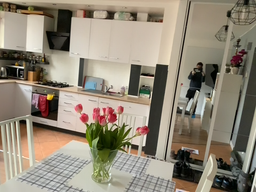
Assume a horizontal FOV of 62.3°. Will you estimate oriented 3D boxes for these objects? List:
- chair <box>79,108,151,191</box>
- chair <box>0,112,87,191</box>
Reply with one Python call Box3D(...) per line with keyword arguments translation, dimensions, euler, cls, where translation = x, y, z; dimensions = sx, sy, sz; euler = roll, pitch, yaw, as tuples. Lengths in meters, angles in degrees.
Box3D(translation=(-0.110, 0.670, 1.890), dimensions=(0.430, 0.980, 0.520), euler=(9, 10, 12), cls="chair")
Box3D(translation=(-0.660, 0.670, 1.480), dimensions=(0.520, 0.980, 0.400), euler=(10, 10, 16), cls="chair")
